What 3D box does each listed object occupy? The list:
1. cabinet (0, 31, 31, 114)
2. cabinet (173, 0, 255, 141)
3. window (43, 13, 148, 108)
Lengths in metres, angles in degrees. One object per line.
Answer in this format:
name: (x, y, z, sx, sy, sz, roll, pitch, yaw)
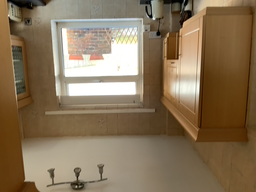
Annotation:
cabinet: (-1.490, -0.290, 2.530, 0.320, 0.880, 0.590, -1, -170, -1)
cabinet: (0.590, -0.190, 1.640, 0.320, 0.870, 0.650, -1, -170, -1)
window: (-0.410, -0.490, 3.000, 1.340, 1.240, 0.300, -1, -170, -3)
